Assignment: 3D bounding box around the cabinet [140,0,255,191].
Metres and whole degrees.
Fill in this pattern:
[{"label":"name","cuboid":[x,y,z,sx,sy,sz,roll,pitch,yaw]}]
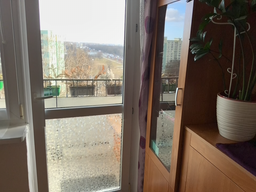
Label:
[{"label":"cabinet","cuboid":[0.480,0.220,1.540,0.560,1.800,0.500,-1,15,-17]}]
